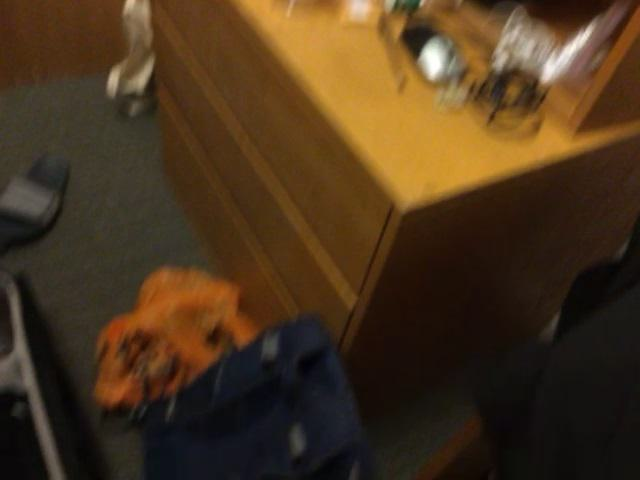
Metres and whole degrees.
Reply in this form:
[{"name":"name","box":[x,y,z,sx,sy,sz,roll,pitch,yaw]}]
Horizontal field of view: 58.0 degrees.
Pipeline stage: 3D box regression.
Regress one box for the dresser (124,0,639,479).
[{"name":"dresser","box":[0.100,-0.260,1.140,0.670,0.930,0.990,-18,54,-25]}]
